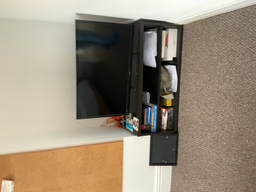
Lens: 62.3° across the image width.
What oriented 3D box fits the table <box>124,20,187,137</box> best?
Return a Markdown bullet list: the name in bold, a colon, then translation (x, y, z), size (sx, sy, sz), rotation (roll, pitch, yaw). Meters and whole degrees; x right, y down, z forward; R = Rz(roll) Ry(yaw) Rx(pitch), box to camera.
- **table**: translation (0.220, -0.150, 1.880), size (0.360, 0.390, 0.910), rotation (-158, 68, -66)
